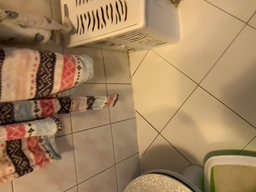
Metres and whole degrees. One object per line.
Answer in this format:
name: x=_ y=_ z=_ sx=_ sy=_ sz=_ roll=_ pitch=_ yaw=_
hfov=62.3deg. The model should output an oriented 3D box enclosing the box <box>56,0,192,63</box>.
box: x=0.010 y=-0.350 z=0.960 sx=0.380 sy=0.490 sz=0.270 roll=-11 pitch=87 yaw=32
